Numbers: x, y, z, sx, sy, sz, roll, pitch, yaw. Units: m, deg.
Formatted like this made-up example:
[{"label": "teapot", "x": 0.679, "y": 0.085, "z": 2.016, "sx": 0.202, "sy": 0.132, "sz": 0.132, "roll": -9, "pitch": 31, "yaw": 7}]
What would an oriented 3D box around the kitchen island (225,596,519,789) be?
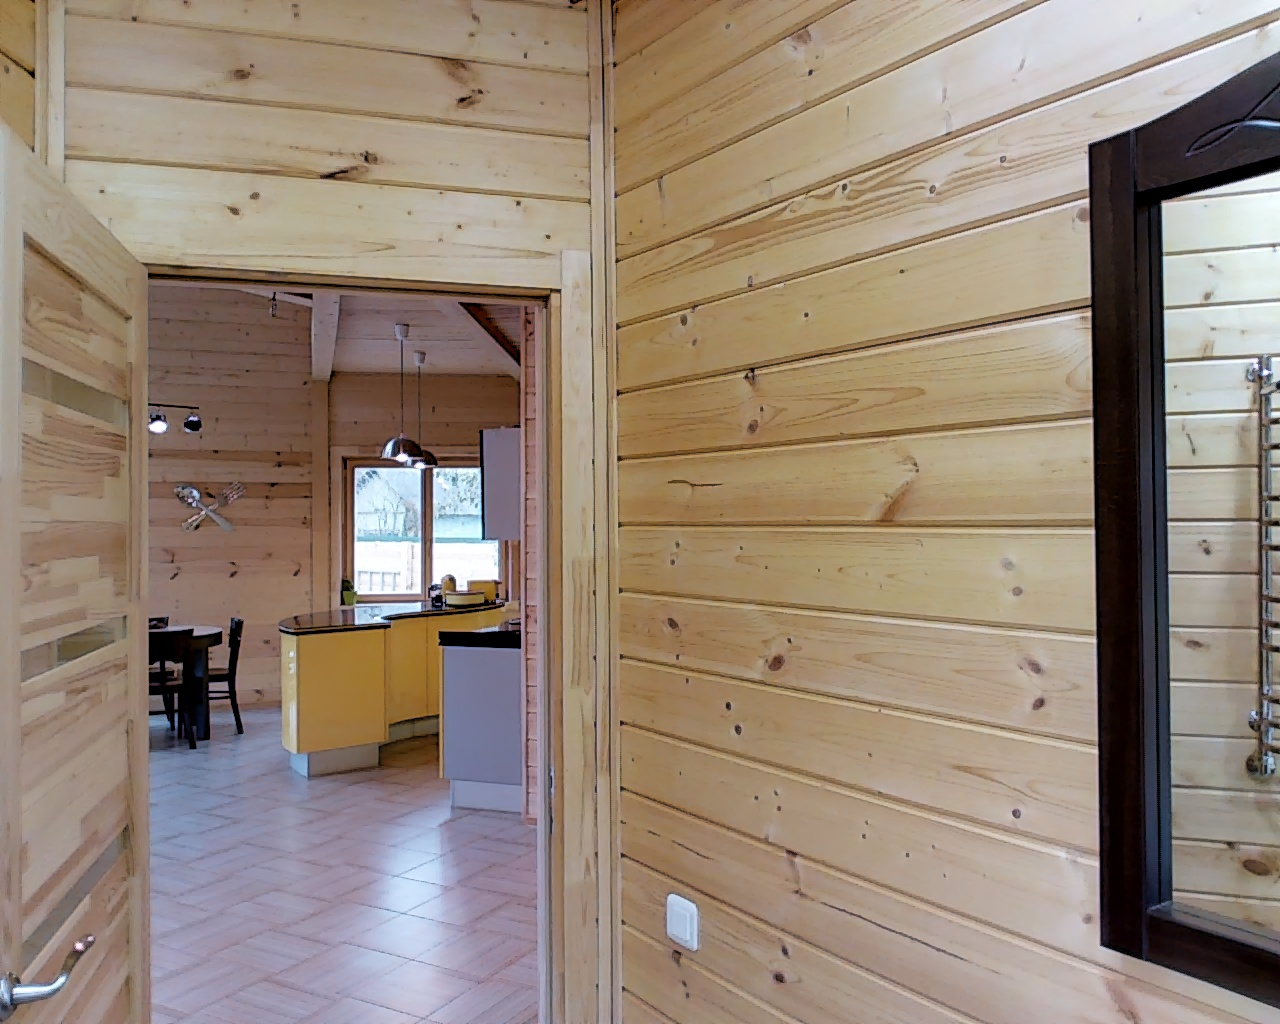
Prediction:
[{"label": "kitchen island", "x": -1.749, "y": 1.160, "z": 7.580, "sx": 1.150, "sy": 0.970, "sz": 2.300, "roll": 0, "pitch": -1, "yaw": 11}]
